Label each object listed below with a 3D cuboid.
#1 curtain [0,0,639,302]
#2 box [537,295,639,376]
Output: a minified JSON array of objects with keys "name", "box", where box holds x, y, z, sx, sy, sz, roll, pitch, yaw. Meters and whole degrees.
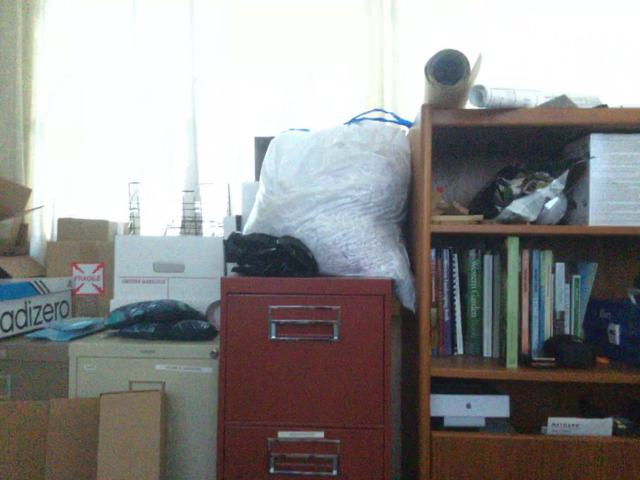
[{"name":"curtain","box":[0.140,-0.600,1.880,2.840,1.550,0.160,1,-2,1]},{"name":"box","box":[0.790,0.230,1.460,0.340,0.150,0.390,1,-2,1]}]
